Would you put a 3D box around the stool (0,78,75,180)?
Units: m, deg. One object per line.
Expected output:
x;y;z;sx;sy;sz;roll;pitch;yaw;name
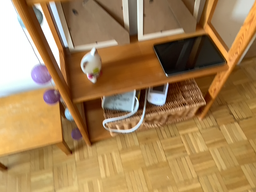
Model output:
-0.490;0.160;1.010;0.380;0.260;0.330;-13;58;-8;stool

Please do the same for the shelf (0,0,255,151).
0.060;-0.470;0.350;0.690;2.020;0.290;-13;58;-8;shelf
